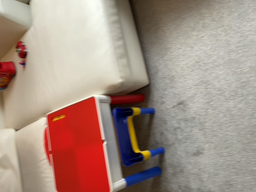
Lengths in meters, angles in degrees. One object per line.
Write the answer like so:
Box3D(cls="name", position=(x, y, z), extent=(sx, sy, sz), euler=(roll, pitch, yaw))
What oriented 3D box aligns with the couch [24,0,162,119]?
Box3D(cls="couch", position=(-0.310, -0.450, 1.530), extent=(0.740, 0.430, 1.060), euler=(-22, 75, 36))
